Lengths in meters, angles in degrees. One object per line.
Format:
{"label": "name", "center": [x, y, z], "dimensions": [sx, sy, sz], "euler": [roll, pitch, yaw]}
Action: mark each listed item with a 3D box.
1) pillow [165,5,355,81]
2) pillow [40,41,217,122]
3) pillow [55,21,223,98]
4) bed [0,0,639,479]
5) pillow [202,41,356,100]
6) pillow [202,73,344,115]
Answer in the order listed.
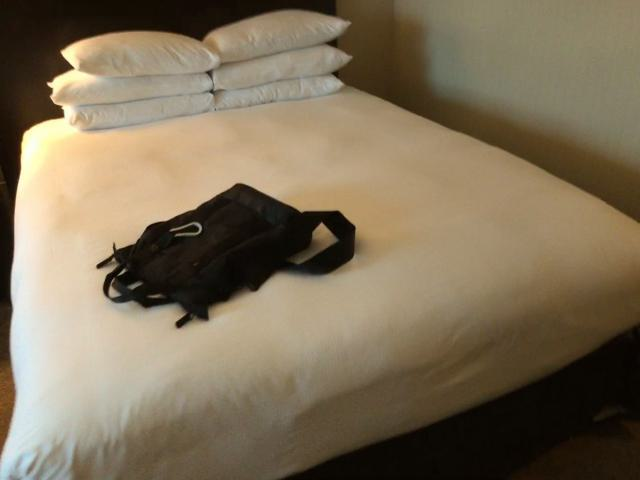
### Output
{"label": "pillow", "center": [-0.260, -0.880, 2.530], "dimensions": [0.710, 0.200, 0.410], "euler": [-15, 29, -22]}
{"label": "pillow", "center": [-0.790, -0.670, 2.380], "dimensions": [0.610, 0.180, 0.400], "euler": [-15, 29, -22]}
{"label": "pillow", "center": [-0.740, -0.750, 2.350], "dimensions": [0.560, 0.180, 0.420], "euler": [-15, 29, -22]}
{"label": "bed", "center": [-0.240, -0.370, 1.930], "dimensions": [1.780, 1.560, 2.130], "euler": [-15, 29, -22]}
{"label": "pillow", "center": [-0.160, -0.730, 2.460], "dimensions": [0.640, 0.140, 0.140], "euler": [-15, 29, -22]}
{"label": "pillow", "center": [-0.190, -0.630, 2.470], "dimensions": [0.610, 0.070, 0.100], "euler": [-15, 29, -22]}
